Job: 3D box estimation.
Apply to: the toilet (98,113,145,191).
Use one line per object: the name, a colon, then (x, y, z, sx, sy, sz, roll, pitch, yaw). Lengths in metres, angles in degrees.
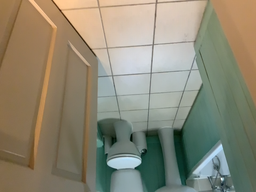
toilet: (-0.080, 0.710, 2.370, 0.420, 0.800, 0.670, -3, 149, -1)
